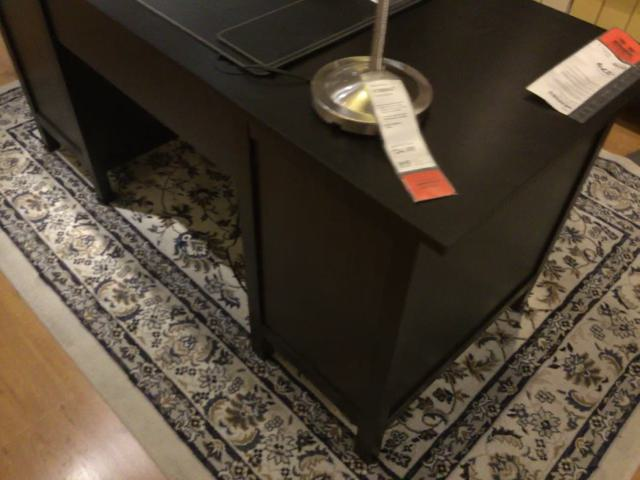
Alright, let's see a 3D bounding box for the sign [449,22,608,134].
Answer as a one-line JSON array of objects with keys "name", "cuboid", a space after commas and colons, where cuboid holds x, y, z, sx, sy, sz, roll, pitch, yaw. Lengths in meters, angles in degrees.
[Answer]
[{"name": "sign", "cuboid": [0.330, -0.260, 0.900, 0.300, 0.030, 0.080, -35, 56, -26]}]
